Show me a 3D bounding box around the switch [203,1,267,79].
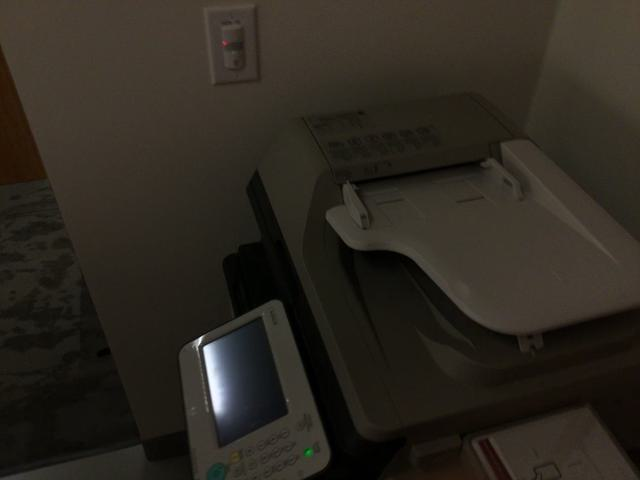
[{"bbox_3d":[-0.130,-0.310,0.900,0.090,0.110,0.020,-9,43,-13],"label":"switch"}]
